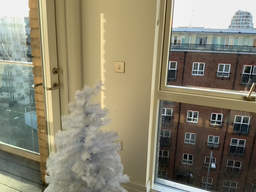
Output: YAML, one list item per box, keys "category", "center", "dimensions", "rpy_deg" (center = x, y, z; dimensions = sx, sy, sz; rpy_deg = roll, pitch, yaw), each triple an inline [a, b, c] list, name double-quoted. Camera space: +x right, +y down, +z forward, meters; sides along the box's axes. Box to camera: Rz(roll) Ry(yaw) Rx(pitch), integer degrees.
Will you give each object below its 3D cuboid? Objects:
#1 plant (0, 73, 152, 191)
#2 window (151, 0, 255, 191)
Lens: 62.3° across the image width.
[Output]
- category: "plant"
  center: [-0.280, 0.440, 1.450]
  dimensions: [0.610, 1.060, 0.730]
  rpy_deg: [9, 16, 25]
- category: "window"
  center: [0.920, 0.010, 1.570]
  dimensions: [1.350, 2.060, 0.320]
  rpy_deg: [8, 16, 23]
